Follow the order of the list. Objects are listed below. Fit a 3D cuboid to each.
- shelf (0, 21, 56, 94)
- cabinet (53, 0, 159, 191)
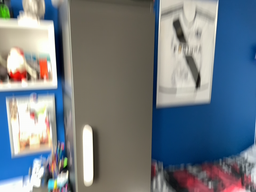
[{"bbox_3d":[-0.640,-0.230,1.290,0.340,0.390,0.220,-5,12,-24],"label":"shelf"},{"bbox_3d":[-0.170,0.400,1.440,0.480,1.940,0.530,-5,12,-24],"label":"cabinet"}]
